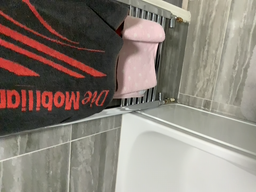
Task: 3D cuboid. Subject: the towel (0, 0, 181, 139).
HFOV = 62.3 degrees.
[{"bbox_3d":[-0.100,-0.130,0.730,0.090,0.860,0.400,17,106,40],"label":"towel"}]
